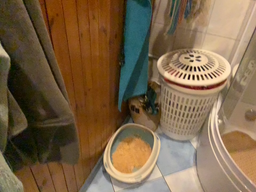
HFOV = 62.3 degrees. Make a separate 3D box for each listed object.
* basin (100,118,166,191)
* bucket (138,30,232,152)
[{"bbox_3d":[0.050,0.390,1.490,0.290,0.100,0.470,19,42,17],"label":"basin"},{"bbox_3d":[0.400,-0.040,1.580,0.470,0.680,0.450,17,41,15],"label":"bucket"}]
